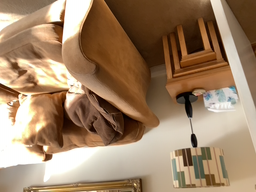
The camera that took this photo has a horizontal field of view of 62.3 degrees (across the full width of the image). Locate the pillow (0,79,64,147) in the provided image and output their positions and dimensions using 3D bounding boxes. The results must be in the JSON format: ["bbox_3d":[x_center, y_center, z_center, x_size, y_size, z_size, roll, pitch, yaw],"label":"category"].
[{"bbox_3d":[-0.750,0.150,1.680,0.390,0.420,0.230,-15,153,23],"label":"pillow"}]

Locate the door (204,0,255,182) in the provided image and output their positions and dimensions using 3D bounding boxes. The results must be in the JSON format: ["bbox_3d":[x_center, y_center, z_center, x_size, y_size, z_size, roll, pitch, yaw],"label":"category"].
[{"bbox_3d":[0.790,0.260,1.190,0.130,2.120,0.810,-20,151,32],"label":"door"}]

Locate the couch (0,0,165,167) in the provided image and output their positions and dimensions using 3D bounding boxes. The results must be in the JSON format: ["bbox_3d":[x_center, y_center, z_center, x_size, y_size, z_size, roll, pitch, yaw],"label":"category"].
[{"bbox_3d":[-0.840,0.030,1.780,1.970,0.820,1.040,-14,154,22],"label":"couch"}]
